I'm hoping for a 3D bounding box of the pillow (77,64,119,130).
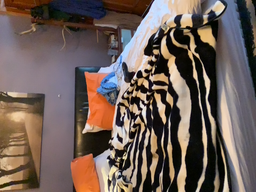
[{"bbox_3d":[-0.350,0.010,2.550,0.150,0.300,0.720,144,142,-66],"label":"pillow"}]
